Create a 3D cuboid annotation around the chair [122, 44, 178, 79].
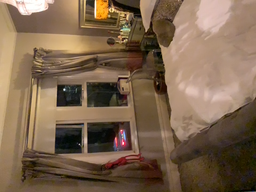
[{"bbox_3d":[0.350,-0.560,3.540,0.400,0.810,0.400,126,142,-67],"label":"chair"}]
